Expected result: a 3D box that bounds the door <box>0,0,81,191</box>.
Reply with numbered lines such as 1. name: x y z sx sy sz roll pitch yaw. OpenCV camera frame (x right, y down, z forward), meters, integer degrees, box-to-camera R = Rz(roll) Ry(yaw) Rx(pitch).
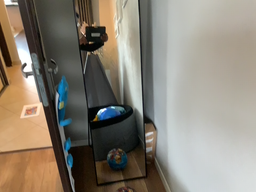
1. door: -0.500 -0.210 1.320 0.150 1.900 0.910 -8 30 -12
